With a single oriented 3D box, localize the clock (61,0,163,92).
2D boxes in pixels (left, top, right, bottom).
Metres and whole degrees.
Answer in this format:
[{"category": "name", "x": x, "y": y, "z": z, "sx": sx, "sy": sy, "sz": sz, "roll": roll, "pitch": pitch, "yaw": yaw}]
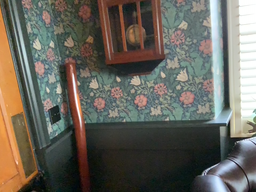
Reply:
[{"category": "clock", "x": -0.080, "y": -0.420, "z": 1.100, "sx": 0.450, "sy": 0.750, "sz": 0.180, "roll": -4, "pitch": 13, "yaw": 13}]
